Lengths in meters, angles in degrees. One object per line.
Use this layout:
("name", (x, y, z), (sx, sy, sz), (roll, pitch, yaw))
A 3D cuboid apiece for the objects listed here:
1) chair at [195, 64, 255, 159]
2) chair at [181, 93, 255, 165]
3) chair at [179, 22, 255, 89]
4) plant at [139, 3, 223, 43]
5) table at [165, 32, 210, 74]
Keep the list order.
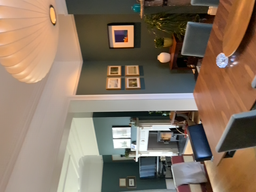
("chair", (1.100, 0.110, 1.630), (0.460, 0.930, 0.560), (91, 178, -46))
("chair", (1.160, 0.410, 2.610), (0.700, 0.790, 0.570), (91, 178, -47))
("chair", (1.090, -0.430, 2.200), (0.540, 0.930, 0.460), (-92, 2, -46))
("plant", (0.880, -1.300, 3.780), (0.530, 1.310, 0.450), (91, 178, -47))
("table", (1.160, -0.860, 4.270), (0.660, 0.670, 0.510), (91, 178, -45))
